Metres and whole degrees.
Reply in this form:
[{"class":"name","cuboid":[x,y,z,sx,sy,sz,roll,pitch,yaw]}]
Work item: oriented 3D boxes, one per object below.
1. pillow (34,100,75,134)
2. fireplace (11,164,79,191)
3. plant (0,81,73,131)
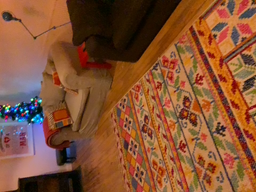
[{"class":"pillow","cuboid":[-1.140,0.310,3.290,0.440,0.430,0.130,36,131,25]},{"class":"fireplace","cuboid":[-1.570,1.690,4.010,0.530,1.100,0.540,-46,50,48]},{"class":"plant","cuboid":[-2.120,0.230,4.480,0.740,1.640,0.750,-48,49,47]}]
